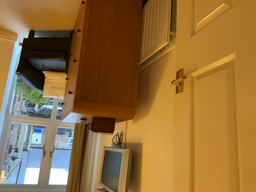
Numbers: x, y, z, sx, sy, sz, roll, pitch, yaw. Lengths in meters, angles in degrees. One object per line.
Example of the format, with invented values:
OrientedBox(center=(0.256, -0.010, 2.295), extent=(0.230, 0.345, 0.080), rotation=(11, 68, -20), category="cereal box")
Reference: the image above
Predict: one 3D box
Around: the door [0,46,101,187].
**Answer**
OrientedBox(center=(-1.140, 0.320, 3.200), extent=(1.290, 1.940, 0.120), rotation=(10, 166, -23), category="door")

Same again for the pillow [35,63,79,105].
OrientedBox(center=(-0.900, -0.150, 2.700), extent=(0.440, 0.390, 0.110), rotation=(21, -167, 2), category="pillow")
